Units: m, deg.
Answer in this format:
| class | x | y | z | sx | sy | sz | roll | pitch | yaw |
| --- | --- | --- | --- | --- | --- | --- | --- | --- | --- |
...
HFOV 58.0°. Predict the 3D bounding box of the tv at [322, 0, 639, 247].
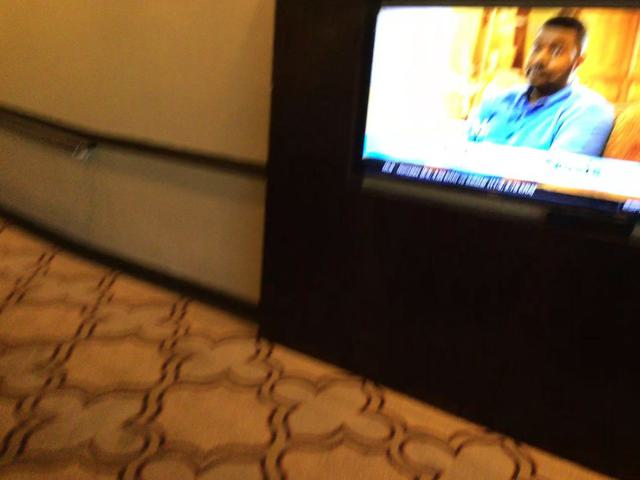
| class | x | y | z | sx | sy | sz | roll | pitch | yaw |
| --- | --- | --- | --- | --- | --- | --- | --- | --- | --- |
| tv | 0.690 | -0.510 | 2.160 | 1.290 | 0.810 | 0.390 | 14 | 15 | 31 |
